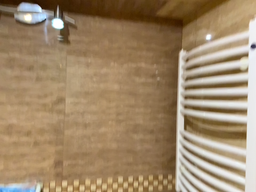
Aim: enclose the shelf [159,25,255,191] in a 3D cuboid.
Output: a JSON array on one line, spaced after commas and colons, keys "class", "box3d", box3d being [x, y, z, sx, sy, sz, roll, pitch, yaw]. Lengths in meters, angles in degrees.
[{"class": "shelf", "box3d": [0.320, 0.160, 0.850, 0.110, 0.730, 0.580, 2, 1, -19]}]
